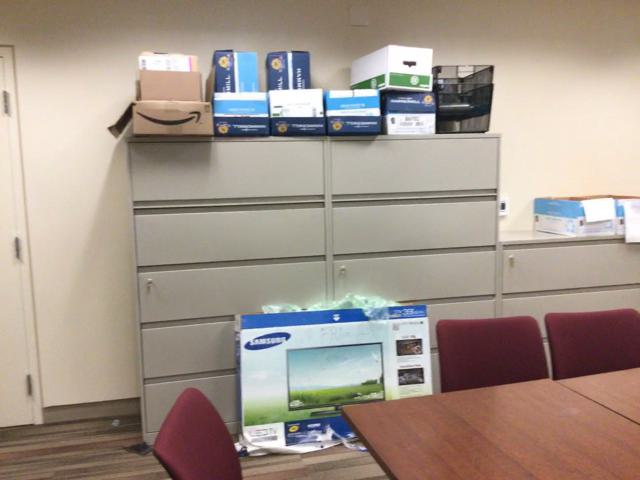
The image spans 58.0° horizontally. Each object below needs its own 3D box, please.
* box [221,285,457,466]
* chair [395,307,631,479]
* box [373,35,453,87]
[{"bbox_3d":[0.090,0.700,3.120,1.160,0.800,0.250,-5,-6,-5],"label":"box"},{"bbox_3d":[0.640,0.730,2.040,0.570,0.820,0.600,-5,6,-5],"label":"chair"},{"bbox_3d":[0.510,-0.980,3.180,0.360,0.230,0.220,-6,6,-19],"label":"box"}]
